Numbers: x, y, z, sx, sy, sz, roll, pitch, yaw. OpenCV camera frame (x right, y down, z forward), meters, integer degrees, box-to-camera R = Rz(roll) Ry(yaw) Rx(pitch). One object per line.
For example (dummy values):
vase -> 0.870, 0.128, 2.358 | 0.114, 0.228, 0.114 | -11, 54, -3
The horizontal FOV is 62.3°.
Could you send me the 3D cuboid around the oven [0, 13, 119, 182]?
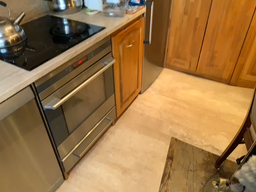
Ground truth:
oven -> -0.490, -0.010, 1.480 | 0.590, 0.850, 0.610 | 20, 44, 23
